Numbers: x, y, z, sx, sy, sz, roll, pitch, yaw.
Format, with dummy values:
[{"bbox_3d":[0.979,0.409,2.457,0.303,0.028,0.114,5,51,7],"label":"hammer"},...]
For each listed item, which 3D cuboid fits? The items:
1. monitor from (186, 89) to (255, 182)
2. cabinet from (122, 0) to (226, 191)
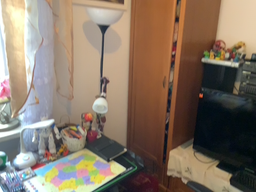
[{"bbox_3d":[0.940,0.340,1.620,0.070,0.590,1.000,-14,23,-43],"label":"monitor"},{"bbox_3d":[0.420,-0.090,2.210,0.670,2.080,0.620,-13,22,-41],"label":"cabinet"}]
